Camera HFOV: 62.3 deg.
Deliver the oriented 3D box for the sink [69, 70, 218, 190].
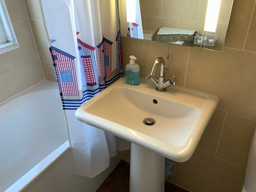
[{"bbox_3d":[0.090,0.100,1.040,0.540,0.180,0.460,18,38,27],"label":"sink"}]
